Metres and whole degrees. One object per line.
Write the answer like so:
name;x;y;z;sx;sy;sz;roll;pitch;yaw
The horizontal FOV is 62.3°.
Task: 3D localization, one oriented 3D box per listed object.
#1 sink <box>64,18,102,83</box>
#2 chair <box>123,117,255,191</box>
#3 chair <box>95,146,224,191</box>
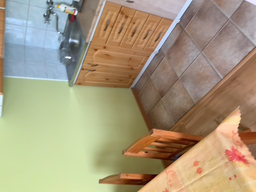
sink;-0.520;-0.490;2.340;0.490;0.210;0.480;-56;43;41
chair;0.480;0.450;1.300;0.390;0.850;0.500;-49;49;47
chair;0.260;0.750;1.650;0.390;0.850;0.500;-56;43;41
